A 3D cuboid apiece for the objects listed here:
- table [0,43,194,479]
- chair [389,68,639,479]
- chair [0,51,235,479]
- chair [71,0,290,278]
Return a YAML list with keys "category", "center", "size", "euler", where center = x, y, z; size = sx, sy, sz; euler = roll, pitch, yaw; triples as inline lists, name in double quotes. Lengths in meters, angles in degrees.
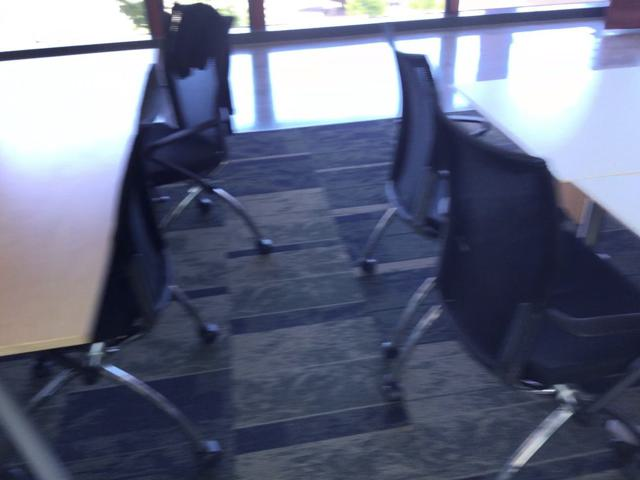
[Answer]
- category: "table"
  center: [-1.040, 0.000, 1.830]
  size: [1.130, 0.760, 1.920]
  euler: [-5, 31, -8]
- category: "chair"
  center: [0.520, 0.140, 1.340]
  size: [0.560, 0.910, 0.550]
  euler: [-4, 31, -5]
- category: "chair"
  center: [-0.570, 0.080, 1.470]
  size: [0.580, 0.940, 0.540]
  euler: [-7, 32, -11]
- category: "chair"
  center: [-0.510, -0.440, 2.240]
  size: [0.520, 0.890, 0.580]
  euler: [-21, 37, -31]
